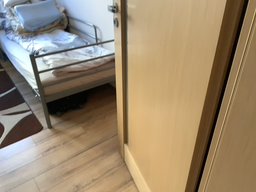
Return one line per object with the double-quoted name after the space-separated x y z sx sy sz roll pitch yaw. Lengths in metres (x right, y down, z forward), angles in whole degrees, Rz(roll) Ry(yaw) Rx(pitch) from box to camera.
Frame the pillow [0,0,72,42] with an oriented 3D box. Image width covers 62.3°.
-1.370 -1.180 3.000 0.780 0.450 0.910 -21 38 -30 "pillow"
